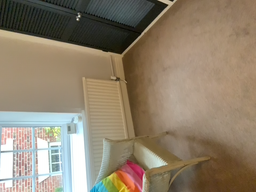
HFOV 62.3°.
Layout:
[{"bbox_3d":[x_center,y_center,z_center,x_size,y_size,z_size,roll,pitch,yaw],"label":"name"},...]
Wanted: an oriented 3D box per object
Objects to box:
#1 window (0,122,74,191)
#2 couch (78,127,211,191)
[{"bbox_3d":[-1.410,0.690,2.090,0.100,1.720,0.860,-34,59,49],"label":"window"},{"bbox_3d":[0.100,0.710,1.770,0.650,0.760,0.680,27,108,54],"label":"couch"}]
